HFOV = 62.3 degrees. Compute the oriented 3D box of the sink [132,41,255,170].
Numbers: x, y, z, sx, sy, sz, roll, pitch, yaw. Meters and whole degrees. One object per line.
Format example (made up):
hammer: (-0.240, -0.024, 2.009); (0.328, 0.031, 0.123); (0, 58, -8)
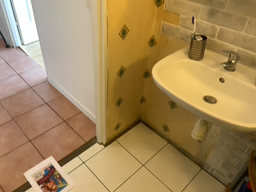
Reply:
sink: (0.370, -0.020, 0.990); (0.430, 0.170, 0.550); (-31, 52, -35)
